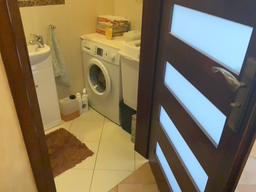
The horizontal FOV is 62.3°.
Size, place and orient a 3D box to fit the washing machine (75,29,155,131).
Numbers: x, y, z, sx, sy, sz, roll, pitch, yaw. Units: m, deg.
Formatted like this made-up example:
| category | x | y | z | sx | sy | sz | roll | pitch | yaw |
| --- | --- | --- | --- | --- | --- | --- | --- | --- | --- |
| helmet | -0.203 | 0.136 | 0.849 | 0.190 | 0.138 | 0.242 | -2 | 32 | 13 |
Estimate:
| category | x | y | z | sx | sy | sz | roll | pitch | yaw |
| --- | --- | --- | --- | --- | --- | --- | --- | --- | --- |
| washing machine | -0.150 | -0.210 | 2.280 | 0.510 | 0.840 | 0.600 | -24 | 39 | -39 |
